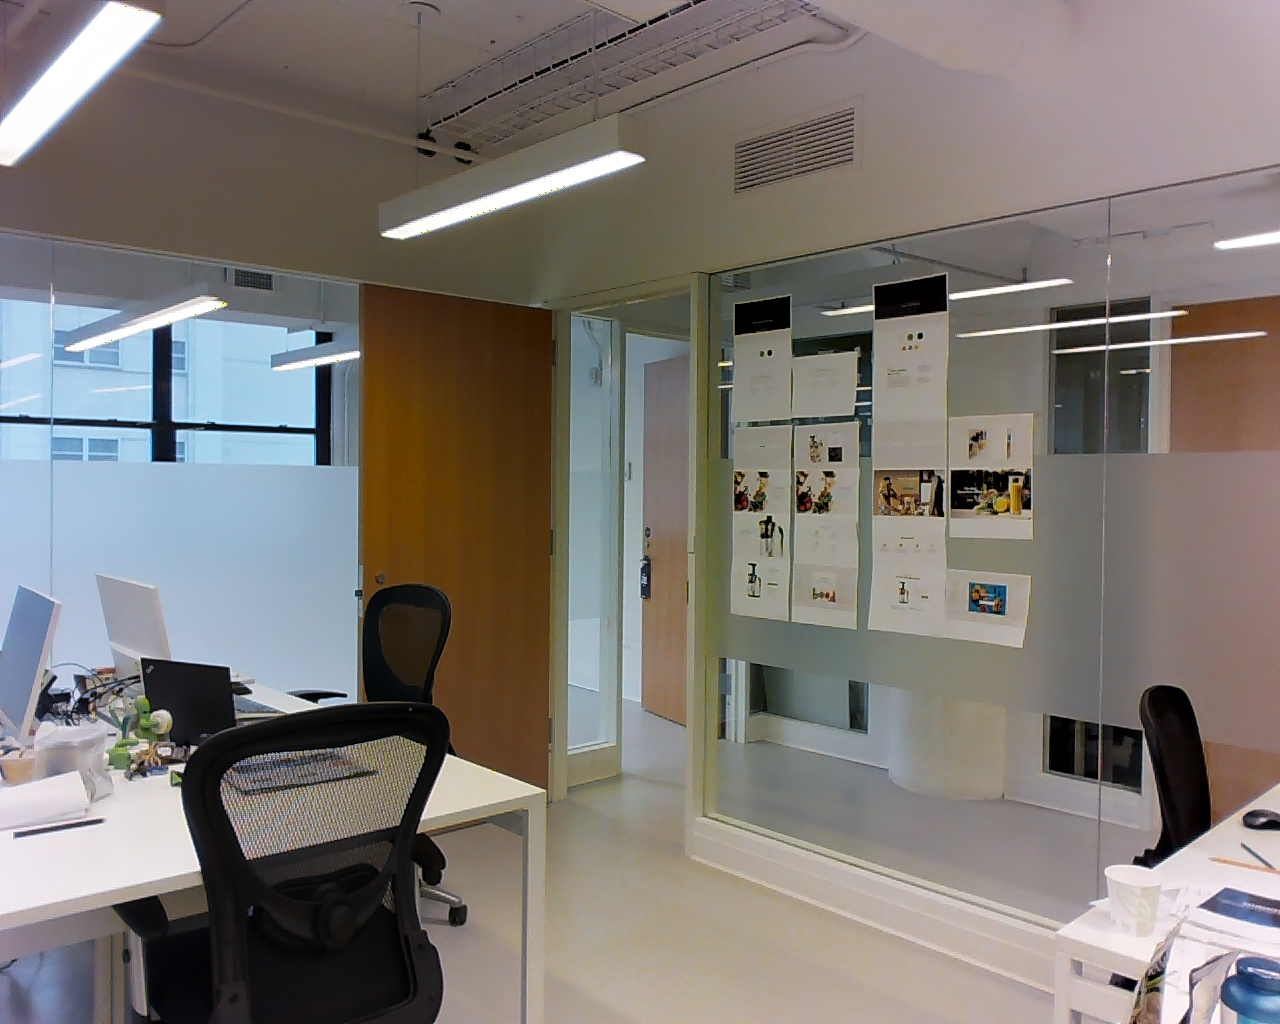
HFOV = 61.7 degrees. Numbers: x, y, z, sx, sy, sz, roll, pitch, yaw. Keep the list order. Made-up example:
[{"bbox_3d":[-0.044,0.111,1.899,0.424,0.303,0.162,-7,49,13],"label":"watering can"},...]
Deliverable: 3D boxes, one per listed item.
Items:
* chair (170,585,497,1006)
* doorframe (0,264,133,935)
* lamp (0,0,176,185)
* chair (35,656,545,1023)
[{"bbox_3d":[-1.020,0.830,3.540,0.770,1.090,0.790,0,1,-42],"label":"chair"},{"bbox_3d":[-2.180,0.290,3.540,0.920,2.210,0.120,0,1,-43],"label":"doorframe"},{"bbox_3d":[-1.350,-0.960,2.390,0.160,0.160,1.270,-1,1,-43],"label":"lamp"},{"bbox_3d":[-0.730,0.890,2.230,0.770,1.030,0.730,0,1,-43],"label":"chair"}]
